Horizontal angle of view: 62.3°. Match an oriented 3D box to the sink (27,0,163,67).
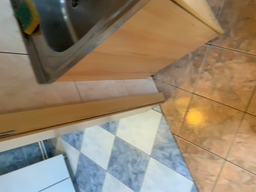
[{"bbox_3d":[-0.150,-0.360,0.770,0.410,0.170,0.340,-32,77,32],"label":"sink"}]
